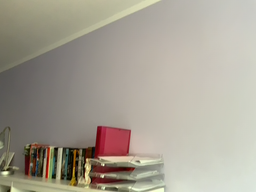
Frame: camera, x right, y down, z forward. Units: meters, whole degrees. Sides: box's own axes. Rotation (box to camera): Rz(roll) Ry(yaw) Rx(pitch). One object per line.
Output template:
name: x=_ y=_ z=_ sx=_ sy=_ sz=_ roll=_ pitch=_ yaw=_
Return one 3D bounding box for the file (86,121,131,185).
file: x=-0.100 y=0.330 z=1.250 sx=0.100 sy=0.320 sz=0.280 roll=-10 pitch=-18 yaw=34
